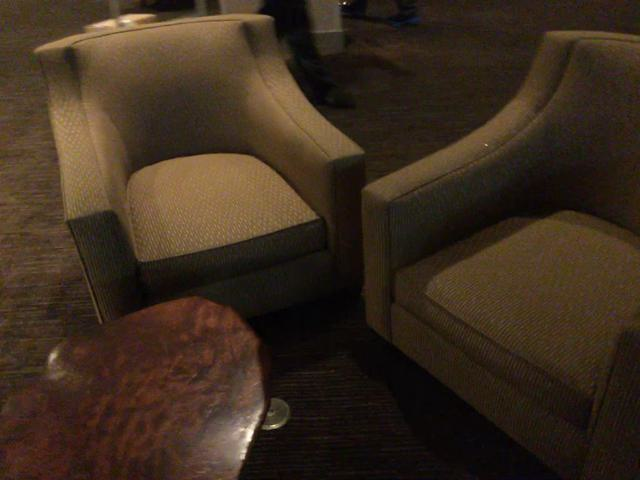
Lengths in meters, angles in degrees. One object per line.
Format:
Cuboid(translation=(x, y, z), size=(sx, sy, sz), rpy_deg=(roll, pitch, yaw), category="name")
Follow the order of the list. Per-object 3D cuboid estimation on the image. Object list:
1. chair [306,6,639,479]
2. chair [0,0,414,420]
Cuboid(translation=(0.690, -0.010, 1.530), size=(0.980, 0.880, 1.020), rpy_deg=(-25, 38, -29), category="chair")
Cuboid(translation=(-0.410, -0.230, 1.970), size=(1.030, 0.860, 1.020), rpy_deg=(-17, 35, -19), category="chair")
